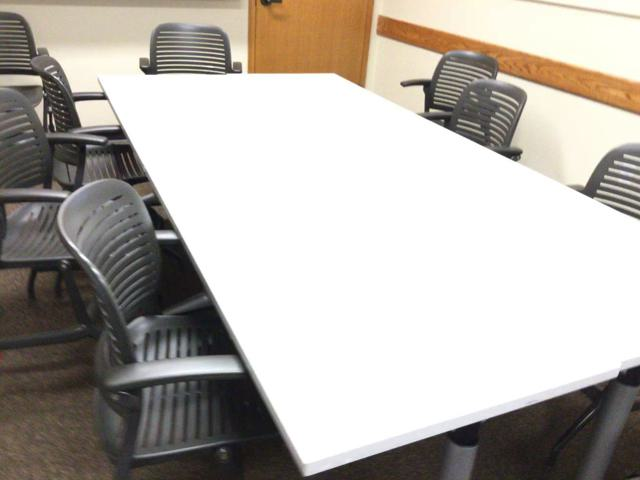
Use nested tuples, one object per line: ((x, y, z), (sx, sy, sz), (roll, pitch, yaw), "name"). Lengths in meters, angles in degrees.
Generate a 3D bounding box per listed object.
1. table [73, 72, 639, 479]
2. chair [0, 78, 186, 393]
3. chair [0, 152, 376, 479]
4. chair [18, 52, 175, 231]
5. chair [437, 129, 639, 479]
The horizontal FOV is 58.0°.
((0.000, 0.020, 2.100), (1.410, 0.780, 2.430), (-9, 28, -23), "table")
((-0.780, -0.050, 1.870), (0.620, 0.800, 0.640), (-2, 26, -11), "chair")
((-0.300, 0.300, 1.300), (0.590, 0.820, 0.620), (-4, 27, -16), "chair")
((-0.880, -0.420, 2.260), (0.460, 0.510, 0.620), (-9, 28, -23), "chair")
((0.810, 0.160, 1.750), (0.540, 0.820, 0.600), (-9, 28, -23), "chair")
